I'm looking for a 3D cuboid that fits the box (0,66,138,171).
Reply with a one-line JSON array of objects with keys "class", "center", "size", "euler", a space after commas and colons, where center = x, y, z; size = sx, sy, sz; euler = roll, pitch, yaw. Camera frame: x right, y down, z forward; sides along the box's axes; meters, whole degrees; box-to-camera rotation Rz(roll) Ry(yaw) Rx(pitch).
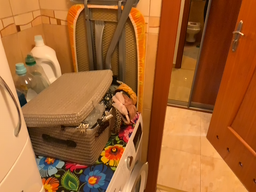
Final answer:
[{"class": "box", "center": [-0.250, 0.070, 0.950], "size": [0.520, 0.240, 0.320], "euler": [9, 32, 13]}]
